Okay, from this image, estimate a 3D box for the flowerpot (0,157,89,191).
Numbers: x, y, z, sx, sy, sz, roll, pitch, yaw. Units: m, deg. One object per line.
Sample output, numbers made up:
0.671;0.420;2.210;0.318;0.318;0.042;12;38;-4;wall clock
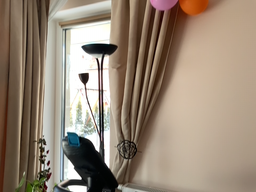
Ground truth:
-0.700;0.840;1.830;0.540;0.450;0.480;1;-1;20;flowerpot
